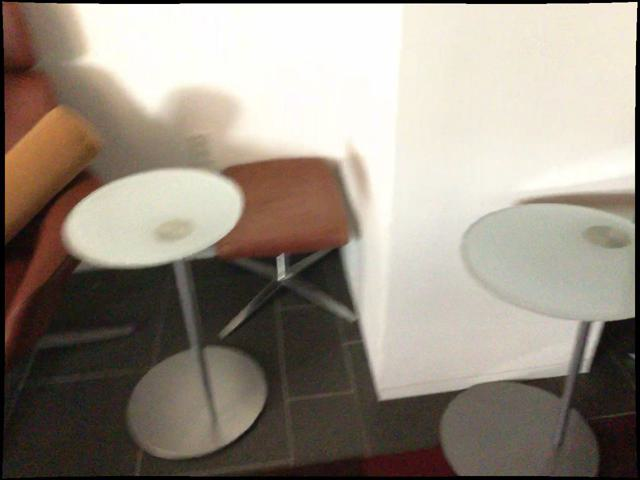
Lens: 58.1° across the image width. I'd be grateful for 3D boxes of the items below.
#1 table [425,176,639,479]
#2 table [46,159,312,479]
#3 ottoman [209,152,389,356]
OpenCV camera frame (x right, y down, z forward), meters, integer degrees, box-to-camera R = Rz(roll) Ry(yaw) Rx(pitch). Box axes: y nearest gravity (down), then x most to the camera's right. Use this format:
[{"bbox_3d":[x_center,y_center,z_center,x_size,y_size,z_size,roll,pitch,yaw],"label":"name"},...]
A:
[{"bbox_3d":[0.569,0.291,1.380,0.449,0.691,0.470,-7,39,-6],"label":"table"},{"bbox_3d":[-0.329,0.221,1.560,0.509,0.681,0.440,-9,39,-8],"label":"table"},{"bbox_3d":[-0.090,0.030,2.010,0.519,0.401,0.530,-7,39,-6],"label":"ottoman"}]
